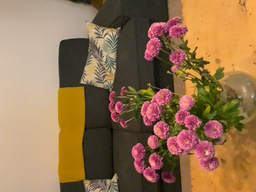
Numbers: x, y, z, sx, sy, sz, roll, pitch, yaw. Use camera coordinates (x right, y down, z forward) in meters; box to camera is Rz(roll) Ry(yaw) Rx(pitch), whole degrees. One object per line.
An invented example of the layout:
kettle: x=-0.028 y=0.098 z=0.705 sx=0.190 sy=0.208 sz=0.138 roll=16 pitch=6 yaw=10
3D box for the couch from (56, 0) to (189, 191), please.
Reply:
couch: x=-0.130 y=0.330 z=1.880 sx=0.950 sy=0.800 sz=2.340 roll=167 pitch=101 yaw=-64
